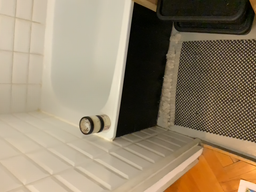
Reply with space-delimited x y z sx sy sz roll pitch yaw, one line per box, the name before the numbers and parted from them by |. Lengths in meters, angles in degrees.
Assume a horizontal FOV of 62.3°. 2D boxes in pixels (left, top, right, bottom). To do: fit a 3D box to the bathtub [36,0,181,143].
bathtub | -0.110 -0.500 1.410 0.680 0.560 1.350 15 102 34
